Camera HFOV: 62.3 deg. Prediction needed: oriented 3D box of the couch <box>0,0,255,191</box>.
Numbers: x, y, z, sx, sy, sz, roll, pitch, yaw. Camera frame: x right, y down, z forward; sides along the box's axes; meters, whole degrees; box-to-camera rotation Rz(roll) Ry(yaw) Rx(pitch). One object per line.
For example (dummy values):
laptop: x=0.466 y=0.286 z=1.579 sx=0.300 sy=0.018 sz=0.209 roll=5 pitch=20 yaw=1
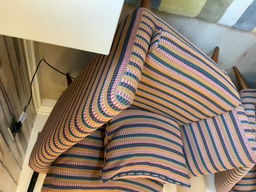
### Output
couch: x=-0.010 y=0.090 z=1.110 sx=0.910 sy=0.770 sz=0.820 roll=24 pitch=140 yaw=-33

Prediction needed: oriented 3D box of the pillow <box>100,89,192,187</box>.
pillow: x=0.090 y=0.190 z=1.000 sx=0.430 sy=0.290 sz=0.090 roll=35 pitch=117 yaw=-19

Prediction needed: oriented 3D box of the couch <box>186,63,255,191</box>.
couch: x=0.990 y=0.340 z=1.490 sx=0.890 sy=0.790 sz=0.830 roll=-2 pitch=147 yaw=3
